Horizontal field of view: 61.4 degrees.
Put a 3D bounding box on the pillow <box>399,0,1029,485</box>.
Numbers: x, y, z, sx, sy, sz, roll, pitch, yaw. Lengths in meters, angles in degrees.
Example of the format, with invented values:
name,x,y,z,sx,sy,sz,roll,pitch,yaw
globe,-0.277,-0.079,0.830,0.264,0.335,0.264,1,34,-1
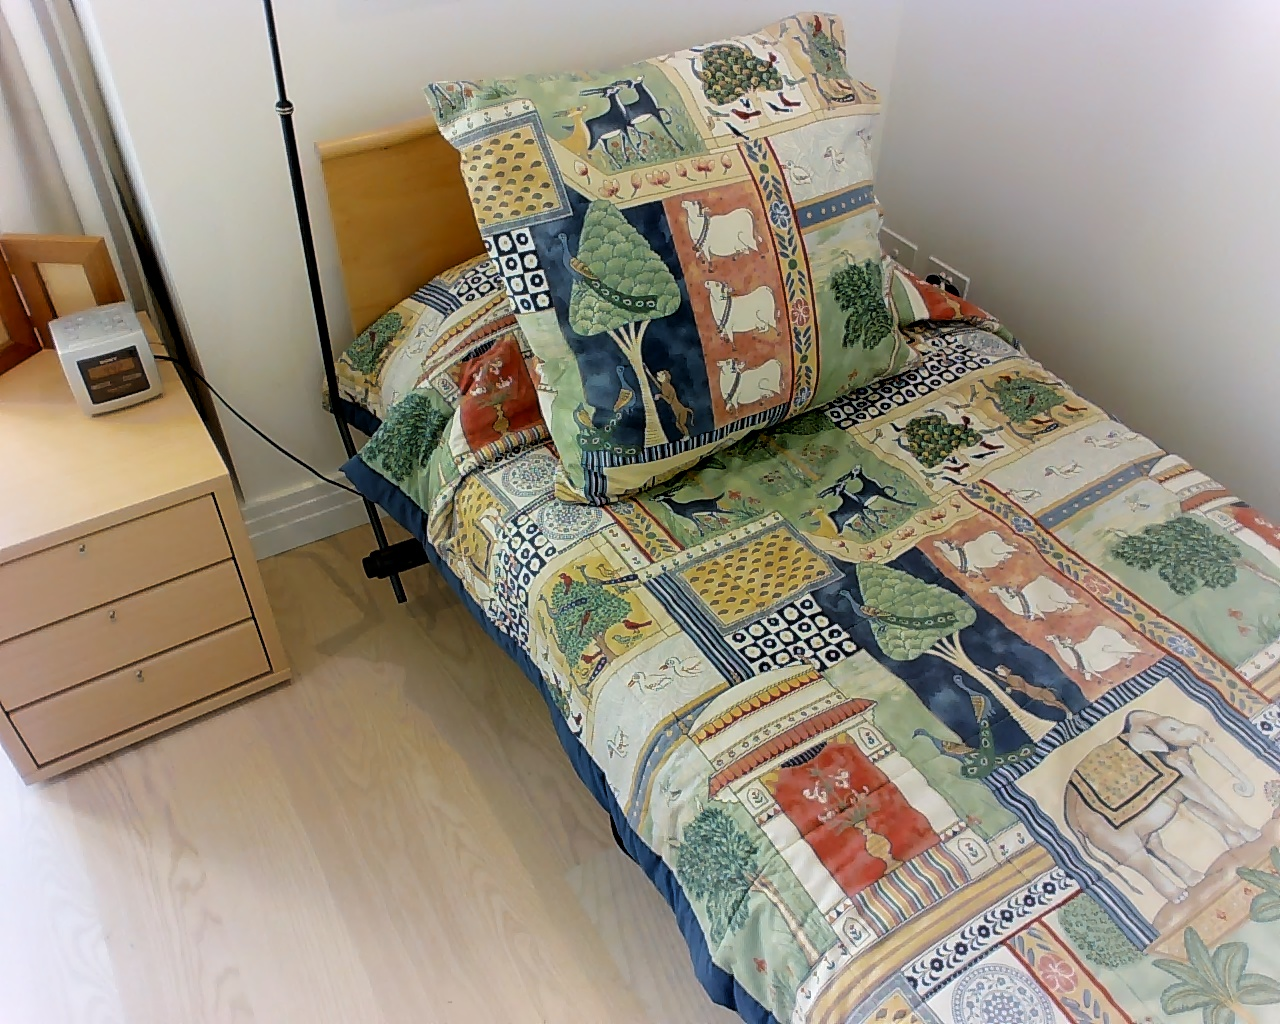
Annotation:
name,x,y,z,sx,sy,sz,roll,pitch,yaw
pillow,0.110,-0.360,1.430,0.650,0.550,0.230,7,31,-42

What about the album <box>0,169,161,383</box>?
name,x,y,z,sx,sy,sz,roll,pitch,yaw
album,-0.920,-0.350,1.620,0.300,0.210,0.190,-18,45,-18

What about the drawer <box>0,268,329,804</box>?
name,x,y,z,sx,sy,sz,roll,pitch,yaw
drawer,-0.860,0.010,1.710,0.470,0.470,0.580,-22,47,-22
